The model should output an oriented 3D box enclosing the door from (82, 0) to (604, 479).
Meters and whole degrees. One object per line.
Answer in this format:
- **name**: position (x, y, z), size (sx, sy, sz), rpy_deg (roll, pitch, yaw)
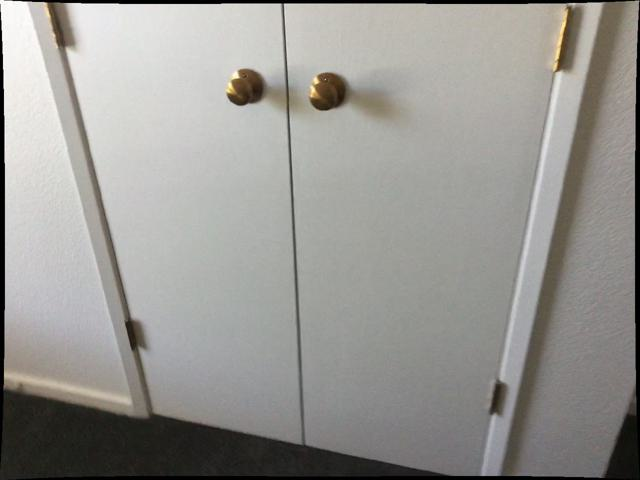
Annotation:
- **door**: position (0.020, 0.040, 1.220), size (0.849, 1.211, 0.070), rpy_deg (6, 32, 12)
